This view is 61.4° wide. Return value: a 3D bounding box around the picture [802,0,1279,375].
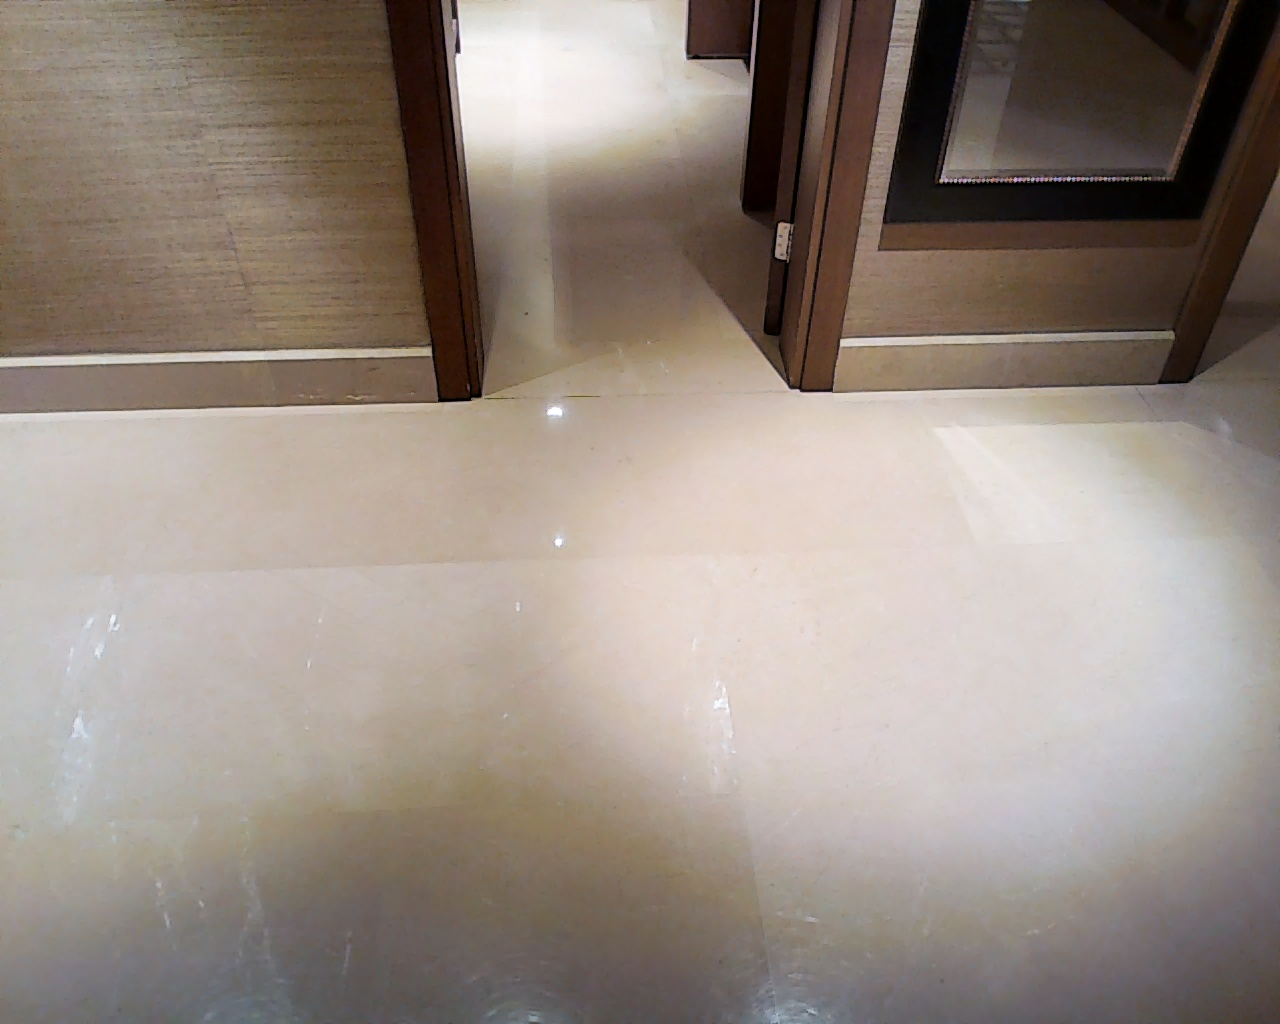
[{"bbox_3d":[0.890,-1.110,2.140,0.900,0.050,1.960,-2,-48,-4],"label":"picture"}]
